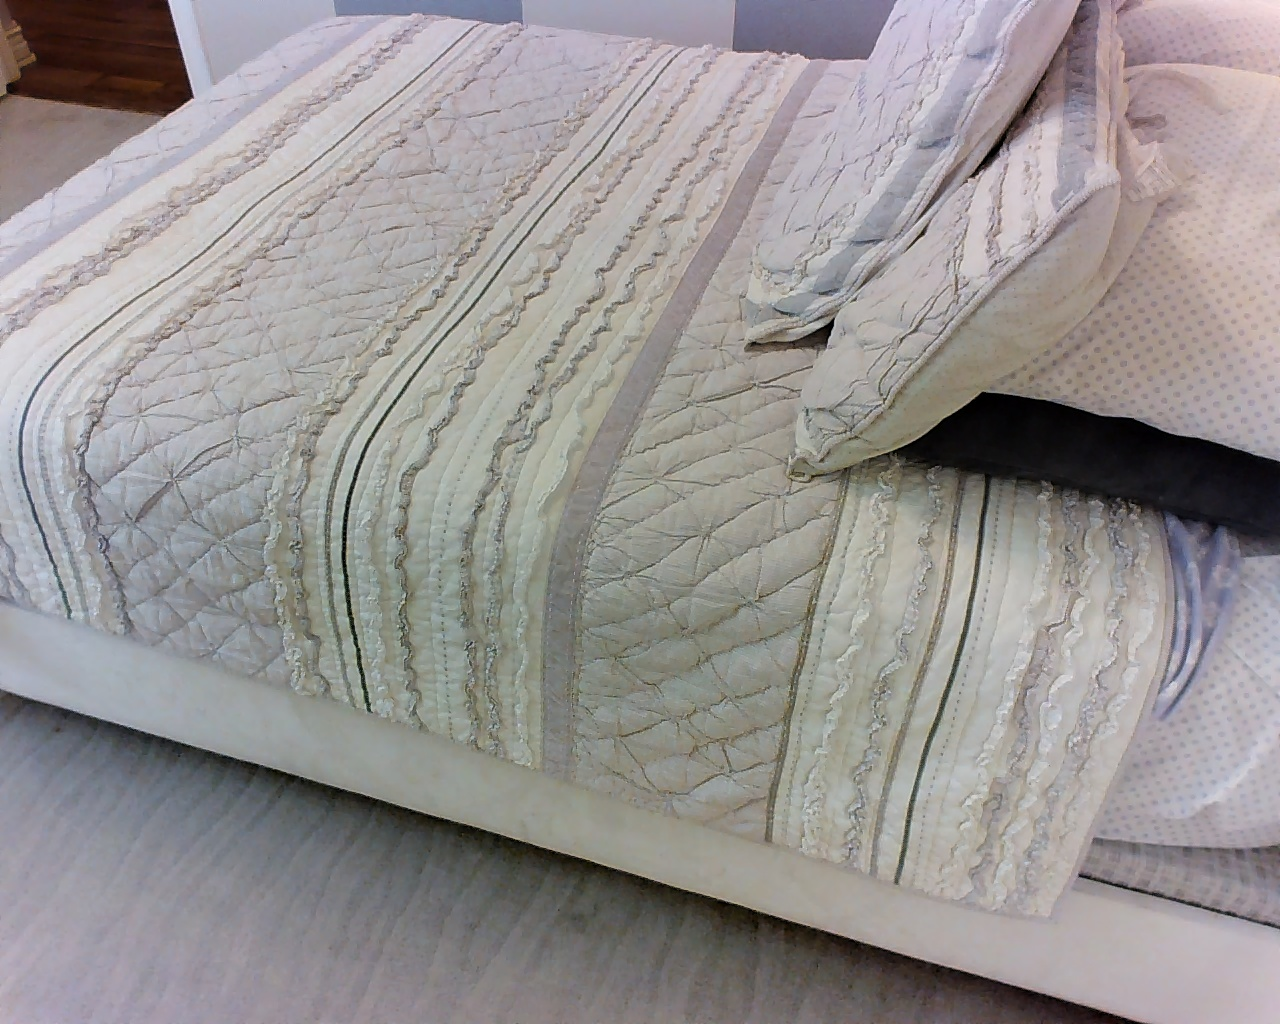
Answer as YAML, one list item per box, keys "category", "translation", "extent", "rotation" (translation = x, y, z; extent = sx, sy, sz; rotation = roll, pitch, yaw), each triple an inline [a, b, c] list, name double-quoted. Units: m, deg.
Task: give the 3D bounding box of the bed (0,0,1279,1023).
- category: "bed"
  translation: [0.030, -0.270, 1.950]
  extent: [2.380, 0.760, 1.840]
  rotation: [12, 44, 12]
